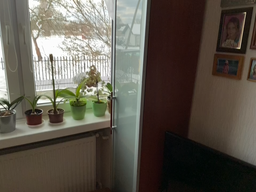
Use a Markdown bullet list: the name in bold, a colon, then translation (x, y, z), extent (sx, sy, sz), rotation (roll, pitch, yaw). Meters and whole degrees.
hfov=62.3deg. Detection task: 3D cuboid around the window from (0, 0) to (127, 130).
- **window**: translation (-0.870, -0.470, 1.670), extent (1.750, 1.370, 0.380), rotation (-8, 19, -30)
